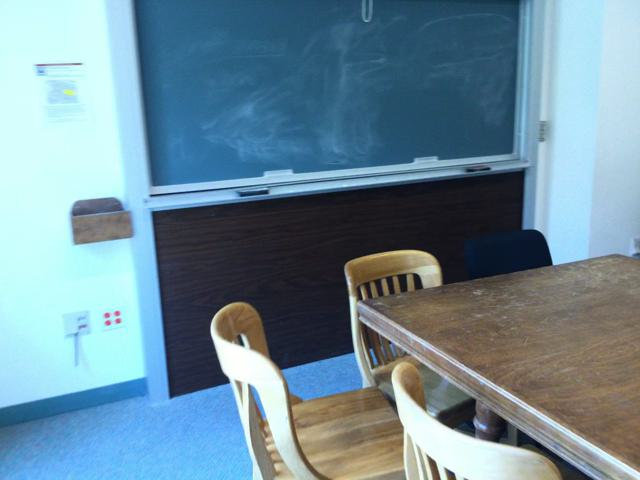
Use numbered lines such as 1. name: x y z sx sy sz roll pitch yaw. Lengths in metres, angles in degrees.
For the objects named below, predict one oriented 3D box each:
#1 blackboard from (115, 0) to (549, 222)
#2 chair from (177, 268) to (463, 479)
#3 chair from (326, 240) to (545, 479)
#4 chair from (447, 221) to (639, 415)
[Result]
1. blackboard: 0.230 -0.770 3.000 2.320 1.020 0.180 -9 13 -22
2. chair: -0.010 0.610 1.730 0.620 0.860 0.590 -9 13 -22
3. chair: 0.400 0.490 2.090 0.500 0.830 0.590 -9 13 -22
4. chair: 0.910 0.260 2.320 0.490 0.530 0.630 -9 13 -22
